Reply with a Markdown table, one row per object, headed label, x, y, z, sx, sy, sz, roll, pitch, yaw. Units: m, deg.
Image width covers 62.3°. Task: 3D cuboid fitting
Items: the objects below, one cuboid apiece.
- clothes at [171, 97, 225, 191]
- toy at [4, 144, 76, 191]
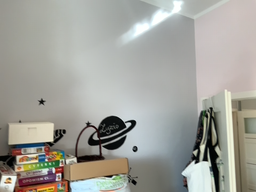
| label | x | y | z | sx | sy | sz | roll | pitch | yaw |
| --- | --- | --- | --- | --- | --- | --- | --- | --- | --- |
| clothes | 0.610 | 0.600 | 1.850 | 0.350 | 1.100 | 0.650 | -3 | -7 | 18 |
| toy | -0.530 | 0.490 | 1.240 | 0.310 | 0.360 | 0.430 | 4 | -8 | -32 |
